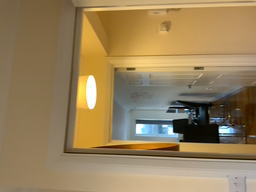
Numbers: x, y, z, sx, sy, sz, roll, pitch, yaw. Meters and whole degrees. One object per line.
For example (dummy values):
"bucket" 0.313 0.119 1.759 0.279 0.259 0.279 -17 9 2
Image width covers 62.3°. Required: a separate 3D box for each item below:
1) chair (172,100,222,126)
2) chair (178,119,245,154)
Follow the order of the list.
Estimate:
"chair" 1.550 0.380 4.850 0.440 1.010 0.540 -6 -83 -84
"chair" 1.450 0.710 3.840 0.540 1.000 0.440 -62 -28 -78
